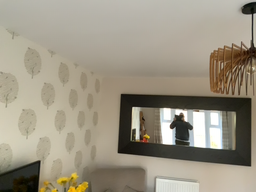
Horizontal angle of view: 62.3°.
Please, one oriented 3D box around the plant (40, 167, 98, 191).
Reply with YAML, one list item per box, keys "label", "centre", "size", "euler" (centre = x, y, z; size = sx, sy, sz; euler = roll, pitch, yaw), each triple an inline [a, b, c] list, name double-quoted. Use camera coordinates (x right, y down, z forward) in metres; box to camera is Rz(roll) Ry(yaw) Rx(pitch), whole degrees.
- label: "plant"
  centre: [-0.550, 0.940, 2.030]
  size: [0.360, 0.370, 0.440]
  euler: [2, -4, 13]
